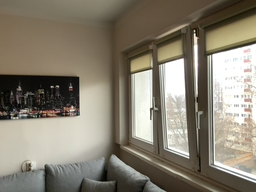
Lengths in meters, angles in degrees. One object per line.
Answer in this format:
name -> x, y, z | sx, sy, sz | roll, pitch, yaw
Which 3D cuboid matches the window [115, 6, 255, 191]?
window -> 0.430, 0.130, 1.670 | 0.140, 1.170, 2.260 | -1, 0, -27
